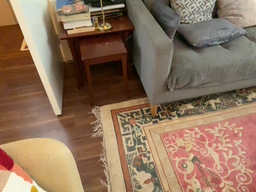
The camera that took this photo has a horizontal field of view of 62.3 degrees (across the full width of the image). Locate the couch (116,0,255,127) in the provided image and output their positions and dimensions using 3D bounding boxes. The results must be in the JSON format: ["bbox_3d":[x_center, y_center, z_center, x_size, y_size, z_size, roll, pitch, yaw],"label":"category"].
[{"bbox_3d":[1.030,-0.610,1.770,2.080,0.860,1.020,-11,44,-8],"label":"couch"}]
